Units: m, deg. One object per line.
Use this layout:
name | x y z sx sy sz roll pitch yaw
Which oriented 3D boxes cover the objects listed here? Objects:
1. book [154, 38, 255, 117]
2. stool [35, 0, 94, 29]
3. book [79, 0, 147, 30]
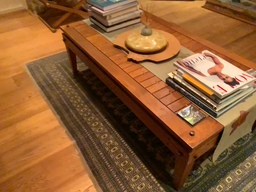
book | 0.380 -0.120 1.020 0.330 0.090 0.390 -25 47 -25
stool | -0.800 -1.160 2.620 0.540 0.360 0.520 -25 47 -25
book | -0.110 -0.670 1.560 0.390 0.170 0.300 -26 48 -25
